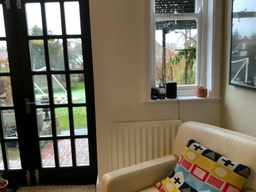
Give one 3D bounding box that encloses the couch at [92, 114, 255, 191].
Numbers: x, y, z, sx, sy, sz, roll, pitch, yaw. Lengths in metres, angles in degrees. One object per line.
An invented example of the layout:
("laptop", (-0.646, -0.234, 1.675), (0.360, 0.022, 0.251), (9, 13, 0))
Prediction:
("couch", (0.380, 0.650, 1.360), (0.900, 0.790, 0.770), (-9, 12, -36))
